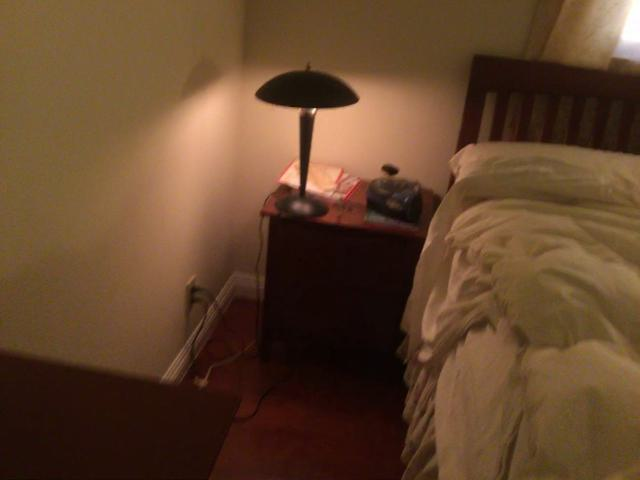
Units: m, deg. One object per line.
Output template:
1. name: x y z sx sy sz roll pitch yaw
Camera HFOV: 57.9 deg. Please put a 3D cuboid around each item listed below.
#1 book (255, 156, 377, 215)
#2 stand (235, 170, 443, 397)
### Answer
1. book: 0.000 -0.200 2.020 0.370 0.080 0.360 6 22 7
2. stand: 0.070 0.130 2.080 0.640 0.620 0.450 6 22 7
